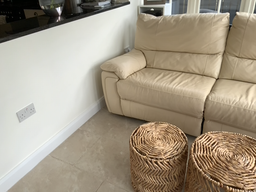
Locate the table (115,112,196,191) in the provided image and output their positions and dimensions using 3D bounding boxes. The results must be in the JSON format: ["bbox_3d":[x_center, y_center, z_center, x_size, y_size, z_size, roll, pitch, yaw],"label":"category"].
[{"bbox_3d":[0.200,0.430,1.480,0.400,0.400,0.410,13,34,25],"label":"table"}]

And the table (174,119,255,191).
[{"bbox_3d":[0.580,0.510,1.270,0.480,0.460,0.470,13,34,25],"label":"table"}]
